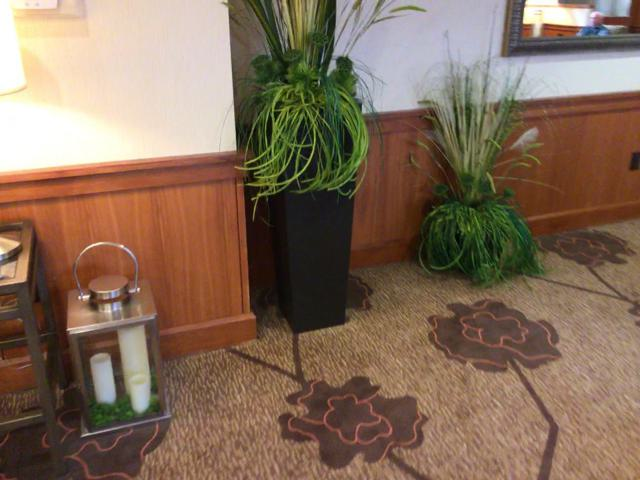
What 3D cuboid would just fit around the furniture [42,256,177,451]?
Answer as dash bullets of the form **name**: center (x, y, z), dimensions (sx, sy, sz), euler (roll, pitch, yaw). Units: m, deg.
- **furniture**: center (-0.740, 0.390, 2.070), dimensions (0.300, 0.540, 0.320), euler (-14, 21, -16)
